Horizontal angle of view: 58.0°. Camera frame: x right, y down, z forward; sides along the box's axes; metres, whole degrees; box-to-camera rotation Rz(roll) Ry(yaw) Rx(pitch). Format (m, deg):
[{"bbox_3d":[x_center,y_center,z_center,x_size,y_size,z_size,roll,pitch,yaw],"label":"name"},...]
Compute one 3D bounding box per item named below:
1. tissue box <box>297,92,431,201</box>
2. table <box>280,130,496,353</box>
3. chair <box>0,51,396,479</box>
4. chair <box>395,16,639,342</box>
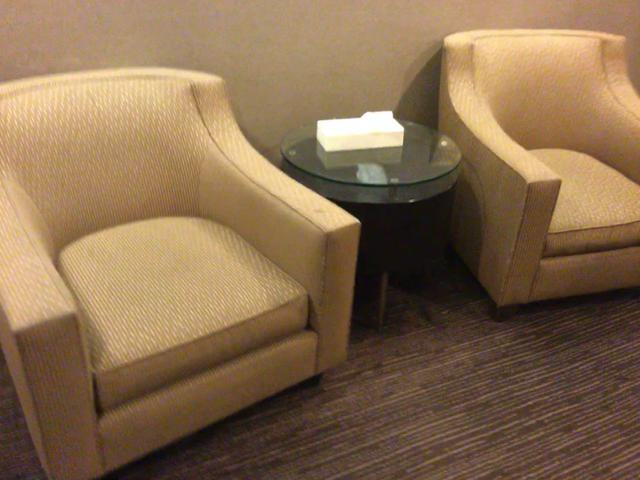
[{"bbox_3d":[0.140,-0.330,1.970,0.340,0.240,0.300,-13,31,-22],"label":"tissue box"},{"bbox_3d":[0.210,-0.020,1.990,0.570,0.550,0.390,-13,31,-22],"label":"table"},{"bbox_3d":[-0.480,0.020,1.660,0.910,0.840,0.980,-19,34,-31],"label":"chair"},{"bbox_3d":[0.920,-0.320,2.250,0.920,0.890,0.970,-6,29,-11],"label":"chair"}]
